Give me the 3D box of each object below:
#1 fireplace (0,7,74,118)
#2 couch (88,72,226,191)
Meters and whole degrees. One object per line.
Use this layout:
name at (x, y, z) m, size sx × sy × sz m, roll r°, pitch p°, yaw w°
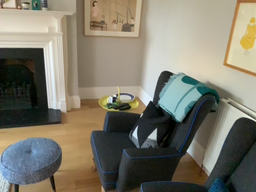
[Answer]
fireplace at (-1.680, -0.460, 2.930) m, size 1.740 × 1.400 × 0.570 m, roll -4°, pitch 24°, yaw -19°
couch at (0.140, 0.350, 1.900) m, size 0.890 × 0.940 × 0.740 m, roll -3°, pitch 24°, yaw -17°
